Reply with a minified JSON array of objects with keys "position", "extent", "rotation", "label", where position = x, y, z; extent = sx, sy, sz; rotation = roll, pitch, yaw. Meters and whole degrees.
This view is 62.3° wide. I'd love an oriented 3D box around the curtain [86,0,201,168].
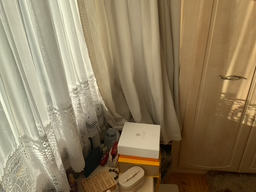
[{"position":[0.100,-0.460,1.160],"extent":[0.610,1.840,0.200],"rotation":[-17,32,-27],"label":"curtain"}]
